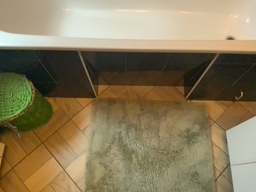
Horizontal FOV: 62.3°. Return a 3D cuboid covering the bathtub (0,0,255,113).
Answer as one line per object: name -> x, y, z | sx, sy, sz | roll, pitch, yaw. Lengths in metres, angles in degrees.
bathtub -> 0.090, -0.380, 1.280 | 1.680, 0.630, 0.750 | 2, 69, 1
